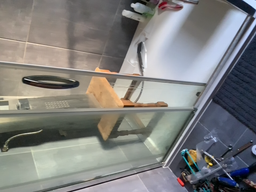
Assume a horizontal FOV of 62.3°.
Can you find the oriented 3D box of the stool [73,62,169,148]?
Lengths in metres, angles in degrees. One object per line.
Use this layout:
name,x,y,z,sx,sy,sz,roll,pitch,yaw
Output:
stool,-0.080,0.050,1.690,0.540,0.460,0.380,49,125,40
